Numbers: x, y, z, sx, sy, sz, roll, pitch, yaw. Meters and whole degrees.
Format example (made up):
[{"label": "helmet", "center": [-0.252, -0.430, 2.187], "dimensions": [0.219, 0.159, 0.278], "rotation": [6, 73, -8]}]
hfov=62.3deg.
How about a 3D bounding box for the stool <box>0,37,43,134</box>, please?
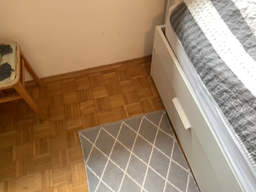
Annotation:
[{"label": "stool", "center": [-0.800, -0.050, 1.370], "dimensions": [0.320, 0.470, 0.370], "rotation": [-12, 57, -8]}]
